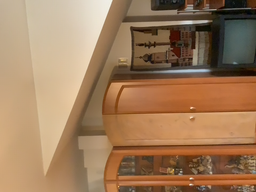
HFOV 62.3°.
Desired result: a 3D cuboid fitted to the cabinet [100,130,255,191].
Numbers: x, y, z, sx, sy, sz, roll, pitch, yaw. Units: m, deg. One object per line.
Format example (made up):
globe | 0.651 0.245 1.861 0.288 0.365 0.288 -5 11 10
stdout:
cabinet | 0.710 0.840 2.470 0.440 1.980 0.720 -91 0 -78
